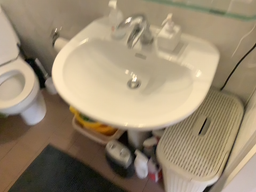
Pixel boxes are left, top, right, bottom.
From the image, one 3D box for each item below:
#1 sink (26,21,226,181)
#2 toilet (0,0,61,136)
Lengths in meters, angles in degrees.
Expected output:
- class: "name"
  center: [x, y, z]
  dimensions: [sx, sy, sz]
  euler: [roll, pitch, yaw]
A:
- class: "sink"
  center: [0.000, -0.040, 0.900]
  dimensions: [0.630, 0.180, 0.480]
  euler: [22, 59, 22]
- class: "toilet"
  center: [-0.880, -0.190, 1.580]
  dimensions: [0.370, 0.800, 0.570]
  euler: [-23, 54, -11]
